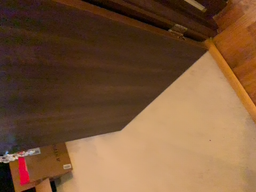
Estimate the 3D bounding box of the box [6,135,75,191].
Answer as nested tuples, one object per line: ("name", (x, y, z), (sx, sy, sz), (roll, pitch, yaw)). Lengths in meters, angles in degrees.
("box", (-0.850, 0.740, 2.030), (0.430, 0.360, 0.550), (-40, 66, 37))
